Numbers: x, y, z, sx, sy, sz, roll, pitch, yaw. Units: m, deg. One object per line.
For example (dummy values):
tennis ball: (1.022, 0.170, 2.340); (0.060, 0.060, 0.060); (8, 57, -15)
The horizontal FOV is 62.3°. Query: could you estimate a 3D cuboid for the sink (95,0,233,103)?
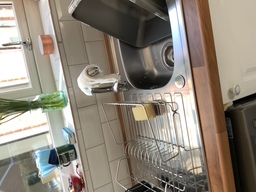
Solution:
sink: (0.100, -0.240, 0.870); (0.520, 0.190, 0.490); (0, 102, 59)
